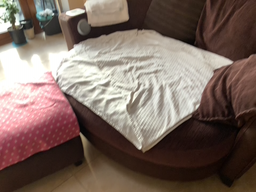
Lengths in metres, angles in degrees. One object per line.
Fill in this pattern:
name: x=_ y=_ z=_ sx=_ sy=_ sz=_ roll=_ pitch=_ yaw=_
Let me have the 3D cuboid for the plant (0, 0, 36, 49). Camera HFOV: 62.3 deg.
plant: x=-1.420 y=-0.890 z=2.590 sx=0.370 sy=0.470 sz=0.220 roll=-30 pitch=47 yaw=-29
